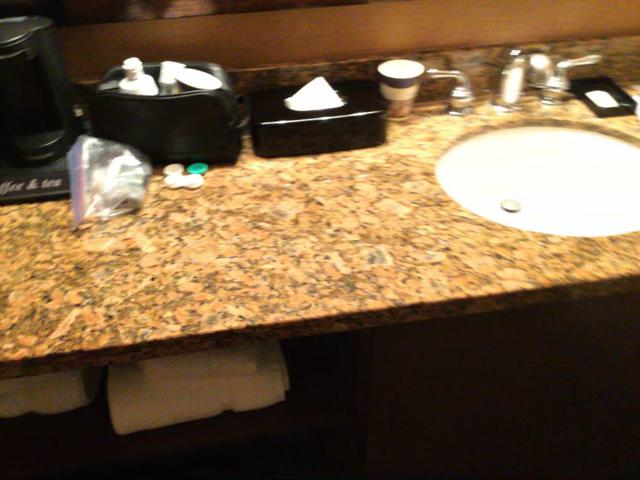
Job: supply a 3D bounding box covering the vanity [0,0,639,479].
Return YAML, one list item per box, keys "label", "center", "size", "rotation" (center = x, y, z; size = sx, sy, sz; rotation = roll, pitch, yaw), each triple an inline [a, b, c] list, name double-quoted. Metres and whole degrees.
- label: "vanity"
  center: [-0.250, 0.250, 1.110]
  size: [2.220, 1.030, 0.730]
  rotation: [-10, 34, -10]

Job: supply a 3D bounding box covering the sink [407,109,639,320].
- label: "sink"
  center: [0.420, -0.070, 1.050]
  size: [0.420, 0.170, 0.340]
  rotation: [-10, 34, -10]

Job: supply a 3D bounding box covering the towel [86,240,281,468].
- label: "towel"
  center: [-0.240, 0.180, 1.030]
  size: [0.270, 0.160, 0.340]
  rotation: [-10, 34, -10]
